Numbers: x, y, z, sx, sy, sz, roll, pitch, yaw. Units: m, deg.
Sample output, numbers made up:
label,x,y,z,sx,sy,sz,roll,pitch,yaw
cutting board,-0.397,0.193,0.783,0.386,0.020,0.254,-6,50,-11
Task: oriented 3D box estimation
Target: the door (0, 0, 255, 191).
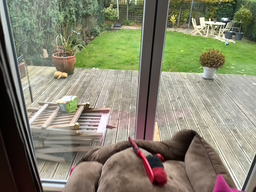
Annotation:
label,x,y,z,sx,sy,sz,roll,pitch,yaw
door,0.630,-0.240,1.520,4.750,2.430,0.080,4,27,1
